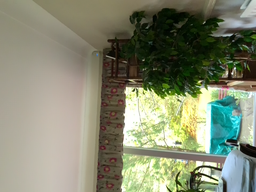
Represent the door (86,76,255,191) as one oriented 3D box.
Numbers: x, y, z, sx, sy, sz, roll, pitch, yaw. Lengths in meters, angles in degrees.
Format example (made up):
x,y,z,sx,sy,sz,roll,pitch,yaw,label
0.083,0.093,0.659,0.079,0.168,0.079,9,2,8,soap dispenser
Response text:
x,y,z,sx,sy,sz,roll,pitch,yaw,label
0.660,0.880,2.880,0.150,2.500,2.200,6,-93,-78,door
